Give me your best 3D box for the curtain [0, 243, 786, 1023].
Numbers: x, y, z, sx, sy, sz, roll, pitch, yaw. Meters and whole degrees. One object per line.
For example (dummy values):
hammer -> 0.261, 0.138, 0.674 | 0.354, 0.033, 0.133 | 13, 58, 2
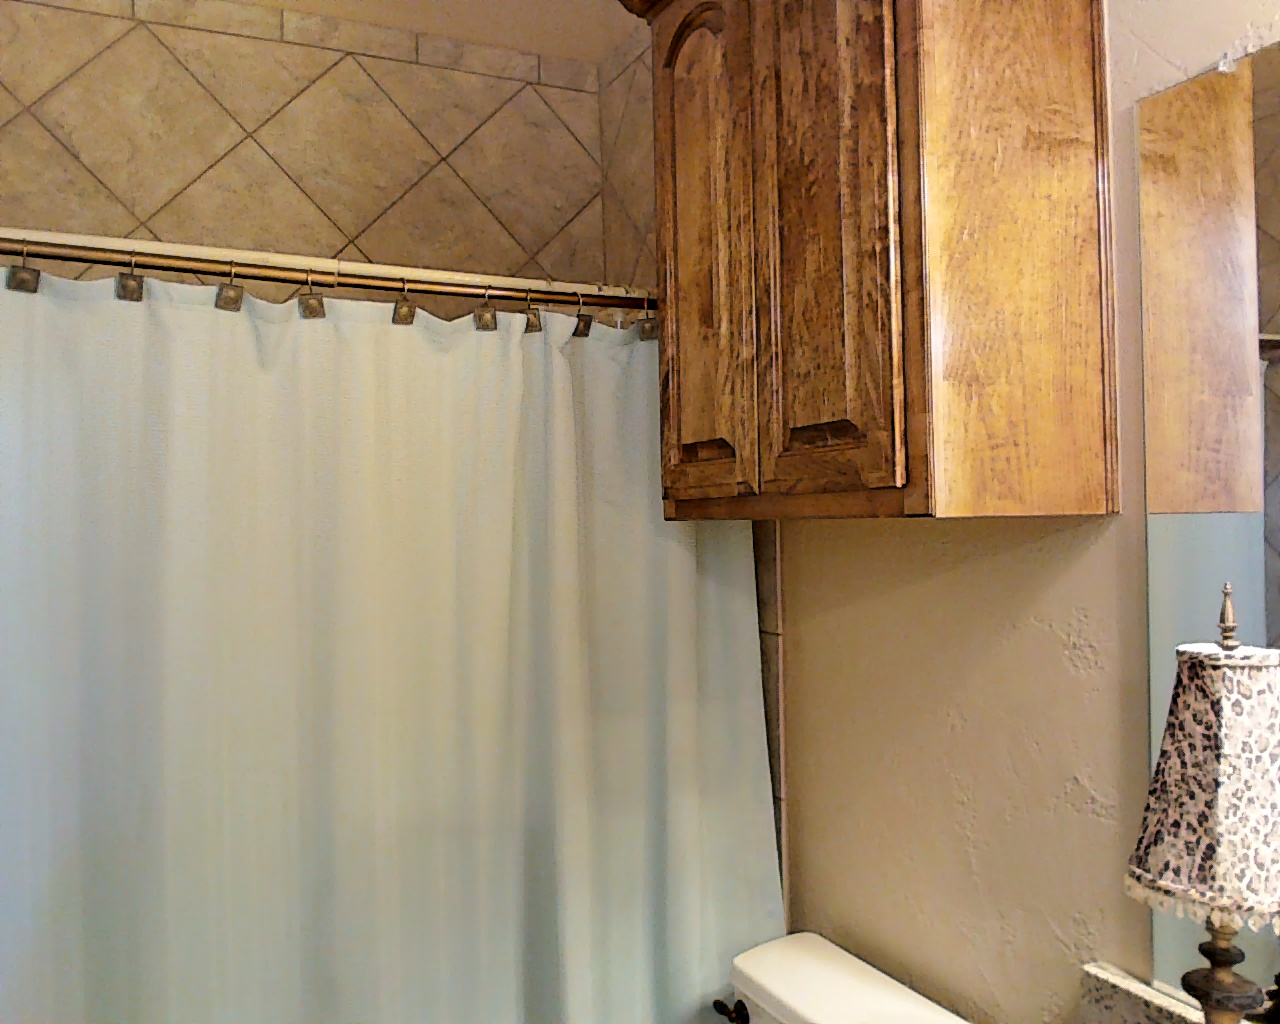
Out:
curtain -> -0.420, 0.590, 1.820 | 1.440, 1.961, 0.150 | -1, -1, -24
